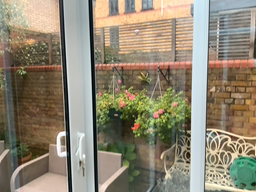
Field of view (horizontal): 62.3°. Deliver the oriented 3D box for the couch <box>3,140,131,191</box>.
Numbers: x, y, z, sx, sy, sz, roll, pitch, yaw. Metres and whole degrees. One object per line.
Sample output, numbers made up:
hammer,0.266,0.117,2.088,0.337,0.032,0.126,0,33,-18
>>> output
couch,-0.720,1.090,2.590,1.320,0.760,0.720,3,8,25
